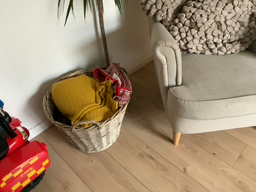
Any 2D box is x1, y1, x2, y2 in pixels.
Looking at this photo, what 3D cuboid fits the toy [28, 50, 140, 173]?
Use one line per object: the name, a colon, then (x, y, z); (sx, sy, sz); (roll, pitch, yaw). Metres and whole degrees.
toy: (-0.210, 0.070, 1.170); (0.420, 0.420, 0.350); (29, 51, 29)
